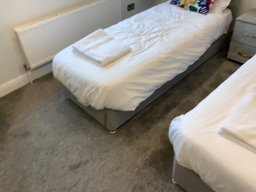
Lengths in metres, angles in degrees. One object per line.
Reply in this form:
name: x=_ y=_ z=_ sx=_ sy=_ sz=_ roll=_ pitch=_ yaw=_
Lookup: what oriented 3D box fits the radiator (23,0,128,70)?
radiator: x=-0.520 y=-0.860 z=2.640 sx=0.070 sy=0.520 sz=1.420 roll=30 pitch=51 yaw=33
